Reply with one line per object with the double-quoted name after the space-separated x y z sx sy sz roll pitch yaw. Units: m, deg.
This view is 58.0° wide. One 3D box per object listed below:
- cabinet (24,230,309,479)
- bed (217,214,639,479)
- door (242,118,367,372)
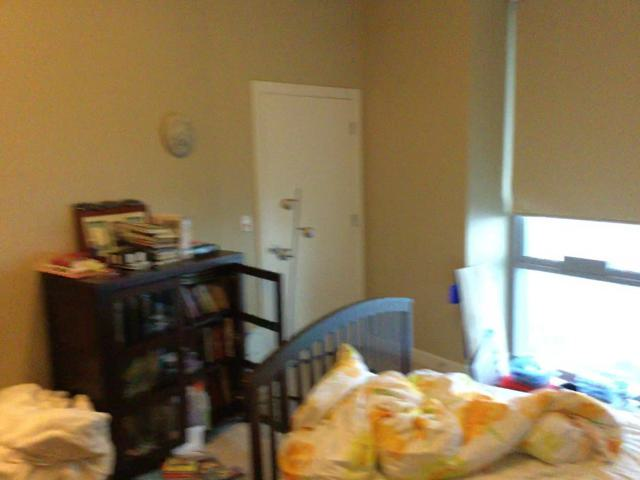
-0.710 0.570 2.930 0.850 1.100 1.020 3 9 33 "cabinet"
0.920 0.610 2.100 2.050 1.230 1.440 3 9 33 "bed"
-0.070 0.000 4.240 0.990 1.730 0.110 -8 10 -38 "door"
